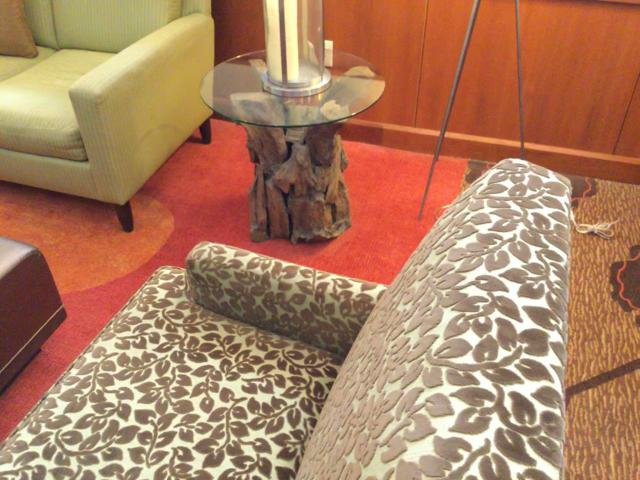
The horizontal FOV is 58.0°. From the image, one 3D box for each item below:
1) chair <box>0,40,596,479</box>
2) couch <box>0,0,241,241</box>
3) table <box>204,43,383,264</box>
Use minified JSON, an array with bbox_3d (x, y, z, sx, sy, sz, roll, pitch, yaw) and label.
[{"bbox_3d":[-0.130,0.310,1.110,0.910,0.960,0.800,17,42,14],"label":"chair"},{"bbox_3d":[-1.550,-0.910,2.480,2.150,0.940,1.010,14,41,11],"label":"couch"},{"bbox_3d":[-0.090,-0.330,2.170,0.490,0.590,0.450,14,41,11],"label":"table"}]
